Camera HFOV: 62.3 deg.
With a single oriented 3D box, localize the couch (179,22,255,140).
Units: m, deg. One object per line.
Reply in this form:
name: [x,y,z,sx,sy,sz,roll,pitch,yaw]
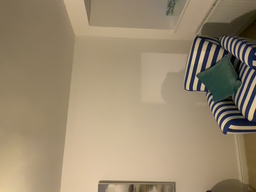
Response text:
couch: [1.150,-0.200,2.270,0.950,0.830,0.910,-93,7,-60]
